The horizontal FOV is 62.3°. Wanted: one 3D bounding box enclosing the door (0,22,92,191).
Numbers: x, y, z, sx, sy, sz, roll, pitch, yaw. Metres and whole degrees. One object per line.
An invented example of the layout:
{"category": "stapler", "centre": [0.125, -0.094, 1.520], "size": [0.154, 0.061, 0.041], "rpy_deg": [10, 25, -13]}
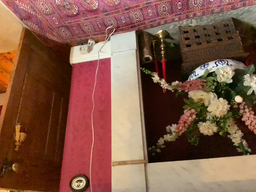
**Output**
{"category": "door", "centre": [-0.510, 0.570, 1.400], "size": [0.040, 2.010, 0.880], "rpy_deg": [-12, 152, 18]}

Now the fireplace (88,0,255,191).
{"category": "fireplace", "centre": [0.590, 0.020, 1.350], "size": [1.520, 1.140, 0.590], "rpy_deg": [-8, 153, 11]}
